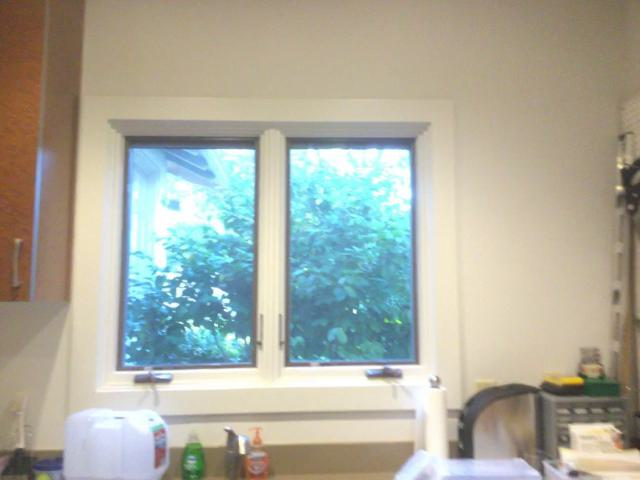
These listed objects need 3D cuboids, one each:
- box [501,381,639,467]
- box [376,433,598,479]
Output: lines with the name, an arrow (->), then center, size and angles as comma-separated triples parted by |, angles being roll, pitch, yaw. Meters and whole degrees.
box -> 0.820, 0.600, 1.920 | 0.340, 0.210, 0.260 | 0, -5, -5
box -> 0.470, 0.710, 1.750 | 0.530, 0.130, 0.430 | 0, -5, -5
